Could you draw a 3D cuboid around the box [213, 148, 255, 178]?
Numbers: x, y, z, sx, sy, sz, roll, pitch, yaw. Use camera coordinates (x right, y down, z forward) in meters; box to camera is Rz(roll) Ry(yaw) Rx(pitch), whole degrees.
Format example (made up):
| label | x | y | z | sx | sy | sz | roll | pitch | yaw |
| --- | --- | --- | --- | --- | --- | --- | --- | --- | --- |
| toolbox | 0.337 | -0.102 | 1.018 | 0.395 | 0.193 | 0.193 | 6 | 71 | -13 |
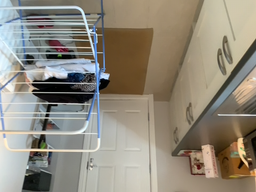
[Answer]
| label | x | y | z | sx | sy | sz | roll | pitch | yaw |
| --- | --- | --- | --- | --- | --- | --- | --- | --- | --- |
| box | 1.220 | 0.760 | 2.370 | 0.340 | 0.240 | 0.460 | 0 | 154 | 2 |
